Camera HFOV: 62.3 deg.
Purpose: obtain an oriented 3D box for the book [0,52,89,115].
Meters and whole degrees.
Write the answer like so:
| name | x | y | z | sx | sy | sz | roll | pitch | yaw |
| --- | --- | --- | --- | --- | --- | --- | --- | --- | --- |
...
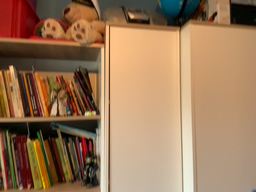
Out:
| name | x | y | z | sx | sy | sz | roll | pitch | yaw |
| --- | --- | --- | --- | --- | --- | --- | --- | --- | --- |
| book | -0.580 | -0.050 | 1.170 | 0.710 | 0.300 | 0.310 | 0 | -4 | -12 |

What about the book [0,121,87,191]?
| name | x | y | z | sx | sy | sz | roll | pitch | yaw |
| --- | --- | --- | --- | --- | --- | --- | --- | --- | --- |
| book | -0.600 | 0.300 | 1.150 | 0.730 | 0.300 | 0.310 | 0 | -4 | -13 |
